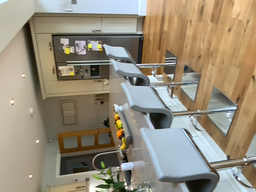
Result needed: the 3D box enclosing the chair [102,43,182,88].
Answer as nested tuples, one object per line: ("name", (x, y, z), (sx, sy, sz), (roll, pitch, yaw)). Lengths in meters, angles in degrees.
("chair", (0.170, -0.460, 3.090), (0.440, 1.040, 0.490), (-115, 25, -57))
